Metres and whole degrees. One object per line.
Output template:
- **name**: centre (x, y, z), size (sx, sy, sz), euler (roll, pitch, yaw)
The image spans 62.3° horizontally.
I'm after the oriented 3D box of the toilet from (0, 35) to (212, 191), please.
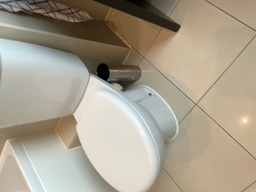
- **toilet**: centre (-0.140, 0.140, 0.930), size (0.660, 0.780, 0.390), euler (50, 121, 25)
